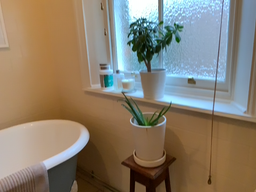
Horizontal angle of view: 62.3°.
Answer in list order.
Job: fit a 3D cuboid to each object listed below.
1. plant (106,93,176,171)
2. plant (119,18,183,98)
[{"bbox_3d":[0.080,0.180,1.210,0.300,0.320,0.240,9,19,38],"label":"plant"},{"bbox_3d":[0.140,-0.230,1.280,0.330,0.420,0.170,9,20,39],"label":"plant"}]
